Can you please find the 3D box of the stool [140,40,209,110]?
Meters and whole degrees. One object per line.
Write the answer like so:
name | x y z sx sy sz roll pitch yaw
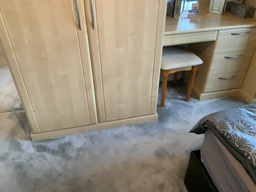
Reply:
stool | 0.420 -0.220 2.090 0.450 0.460 0.460 -10 37 -14

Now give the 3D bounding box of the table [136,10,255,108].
table | 0.610 -0.380 2.080 0.950 0.730 0.450 -8 37 -11
